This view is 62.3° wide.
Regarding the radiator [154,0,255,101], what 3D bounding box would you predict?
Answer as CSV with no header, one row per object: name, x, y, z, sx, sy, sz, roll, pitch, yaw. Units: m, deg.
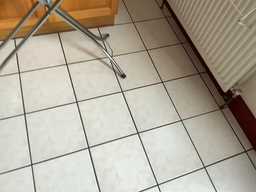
radiator,0.500,-0.590,1.360,0.110,0.670,1.060,-13,63,-17
